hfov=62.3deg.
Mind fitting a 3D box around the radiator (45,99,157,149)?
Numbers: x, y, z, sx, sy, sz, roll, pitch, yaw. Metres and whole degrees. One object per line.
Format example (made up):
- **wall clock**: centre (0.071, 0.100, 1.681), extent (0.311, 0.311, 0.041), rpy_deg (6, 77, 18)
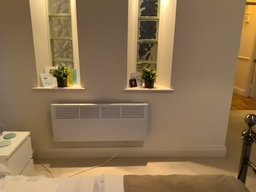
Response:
- **radiator**: centre (-0.280, 0.310, 2.340), extent (1.150, 0.530, 0.130), rpy_deg (0, 17, -3)
